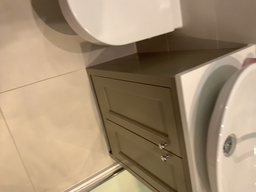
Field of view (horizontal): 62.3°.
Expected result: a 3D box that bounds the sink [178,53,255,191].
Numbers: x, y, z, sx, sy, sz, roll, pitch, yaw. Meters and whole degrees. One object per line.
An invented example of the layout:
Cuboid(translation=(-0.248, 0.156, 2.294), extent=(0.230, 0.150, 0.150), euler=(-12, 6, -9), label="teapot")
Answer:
Cuboid(translation=(0.390, 0.180, 0.720), extent=(0.370, 0.130, 0.570), euler=(-23, 110, -28), label="sink")
